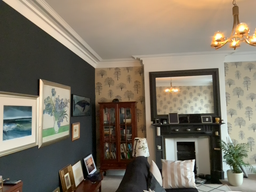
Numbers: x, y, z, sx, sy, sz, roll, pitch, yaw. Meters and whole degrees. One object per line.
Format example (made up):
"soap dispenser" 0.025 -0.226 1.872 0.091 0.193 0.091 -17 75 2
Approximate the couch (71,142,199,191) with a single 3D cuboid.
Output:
"couch" 0.250 1.260 2.870 1.110 0.870 2.210 -2 -2 11

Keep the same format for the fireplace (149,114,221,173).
"fireplace" 1.370 1.140 5.300 1.620 1.310 0.580 -2 -2 9

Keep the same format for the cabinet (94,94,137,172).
"cabinet" -0.310 0.920 5.470 0.960 1.880 0.480 -2 -2 9
